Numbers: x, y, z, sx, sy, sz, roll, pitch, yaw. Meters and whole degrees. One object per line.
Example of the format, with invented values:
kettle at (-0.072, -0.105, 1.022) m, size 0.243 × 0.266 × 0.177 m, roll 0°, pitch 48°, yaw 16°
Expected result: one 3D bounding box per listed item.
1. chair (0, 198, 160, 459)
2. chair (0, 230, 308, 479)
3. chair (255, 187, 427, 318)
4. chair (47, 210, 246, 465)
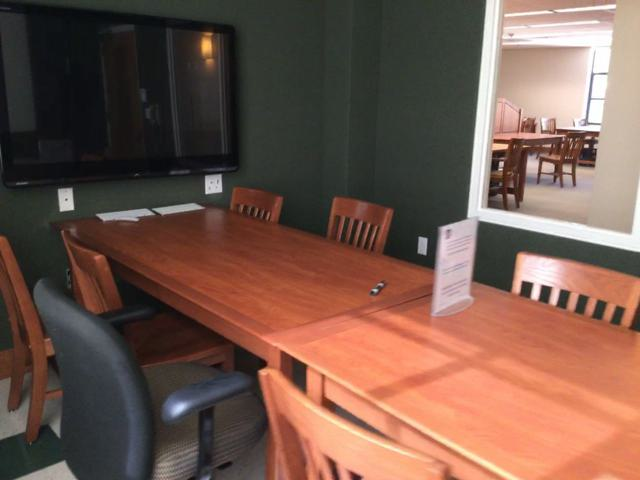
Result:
chair at (-1.070, 0.320, 2.430) m, size 0.570 × 0.870 × 0.460 m, roll -12°, pitch 19°, yaw -39°
chair at (-0.500, 0.540, 1.700) m, size 0.610 × 0.940 × 0.720 m, roll -12°, pitch 19°, yaw -39°
chair at (0.090, 0.020, 2.770) m, size 0.540 × 0.420 × 0.610 m, roll -12°, pitch 19°, yaw -39°
chair at (-0.660, 0.320, 2.240) m, size 0.520 × 0.740 × 0.520 m, roll -12°, pitch 19°, yaw -39°
